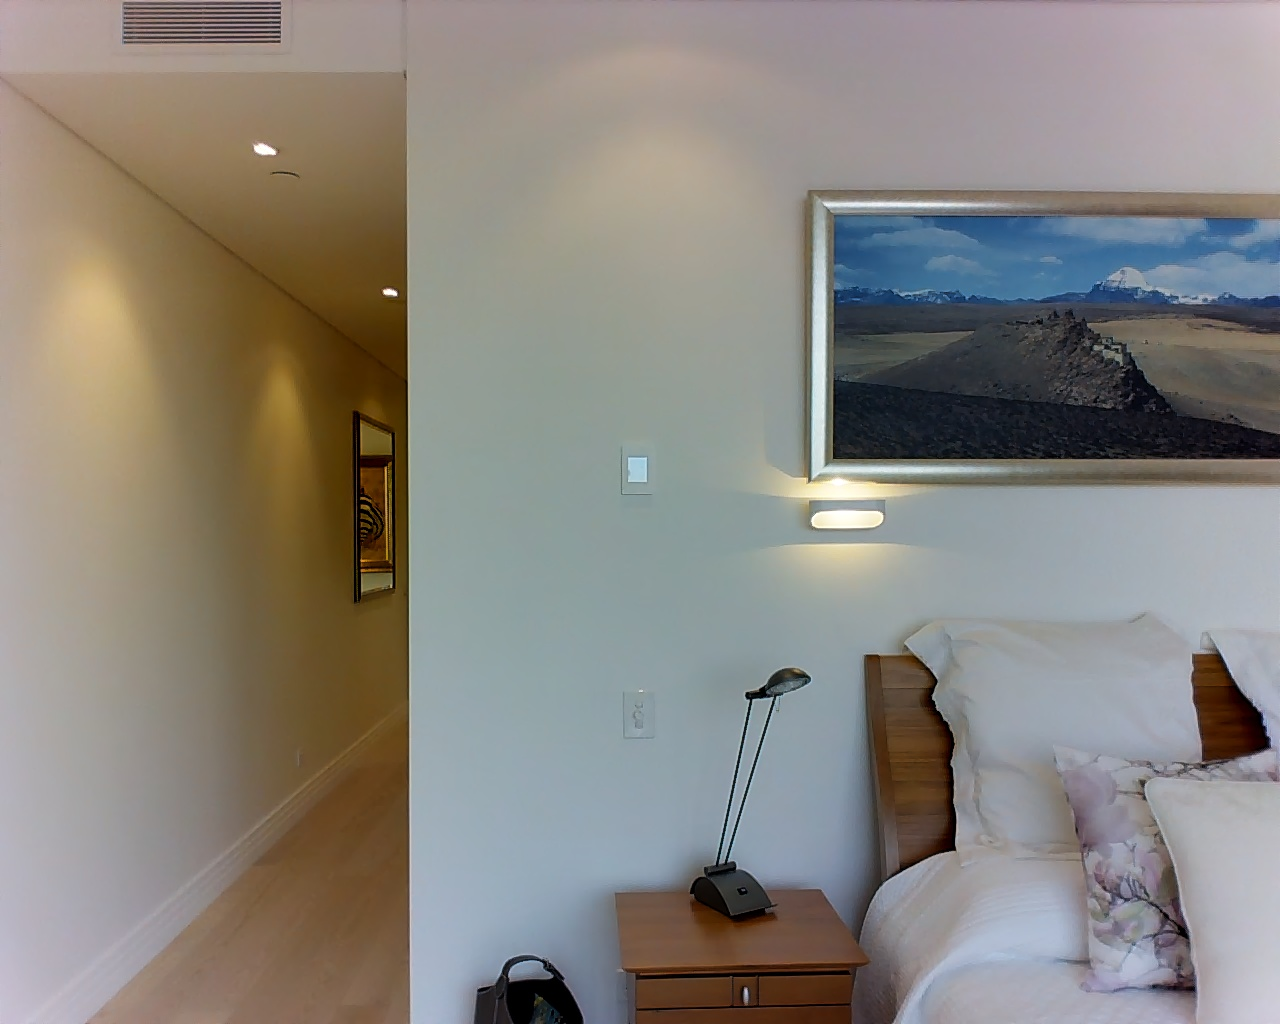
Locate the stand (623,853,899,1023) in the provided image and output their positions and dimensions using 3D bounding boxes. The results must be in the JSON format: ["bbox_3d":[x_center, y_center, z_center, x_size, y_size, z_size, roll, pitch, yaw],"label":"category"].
[{"bbox_3d":[0.230,1.090,2.320,0.530,0.550,0.510,0,-1,-1],"label":"stand"}]

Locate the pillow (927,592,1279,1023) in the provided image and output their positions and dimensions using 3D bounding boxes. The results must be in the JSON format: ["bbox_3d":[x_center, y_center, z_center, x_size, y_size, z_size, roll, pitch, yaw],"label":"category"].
[{"bbox_3d":[1.400,0.510,2.150,1.390,0.650,0.920,0,-1,-1],"label":"pillow"}]

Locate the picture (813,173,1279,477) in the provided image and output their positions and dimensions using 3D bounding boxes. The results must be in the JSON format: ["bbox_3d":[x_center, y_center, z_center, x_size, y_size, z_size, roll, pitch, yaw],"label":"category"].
[{"bbox_3d":[1.400,-0.450,2.600,1.940,0.720,0.090,0,-3,-1],"label":"picture"}]
